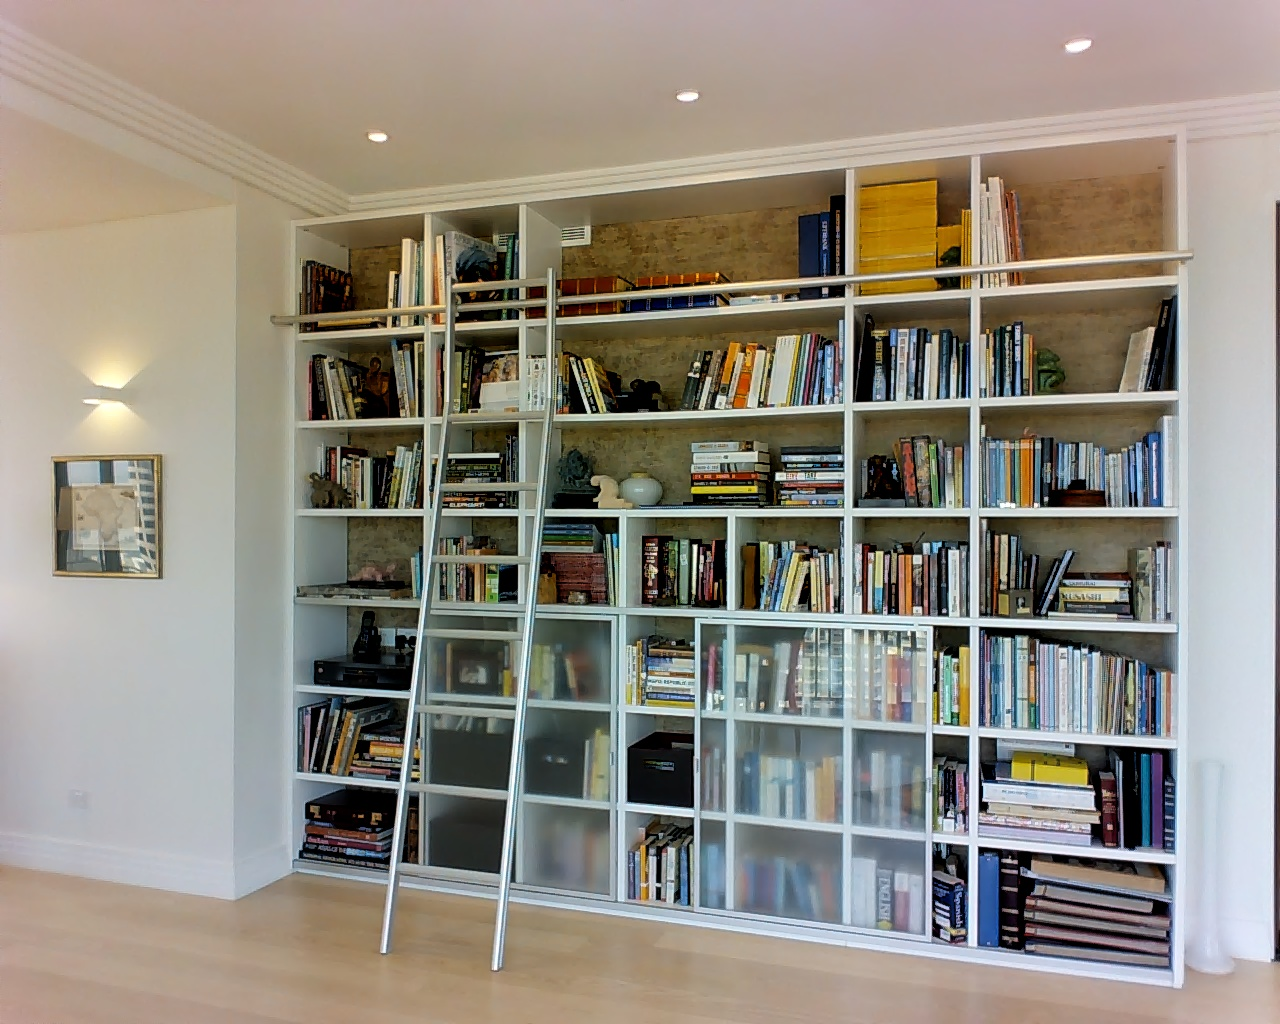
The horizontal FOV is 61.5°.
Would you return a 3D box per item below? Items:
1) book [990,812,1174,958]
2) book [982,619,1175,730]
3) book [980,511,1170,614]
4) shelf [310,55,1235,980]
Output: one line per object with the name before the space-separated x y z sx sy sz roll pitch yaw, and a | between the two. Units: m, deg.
book | 1.430 1.200 3.510 0.530 0.300 0.350 0 -1 21
book | 1.430 0.520 3.530 0.560 0.290 0.340 0 -1 22
book | 1.440 0.160 3.600 0.570 0.320 0.280 0 -1 19
shelf | 0.290 0.010 3.910 3.269 2.761 0.330 0 -1 19
